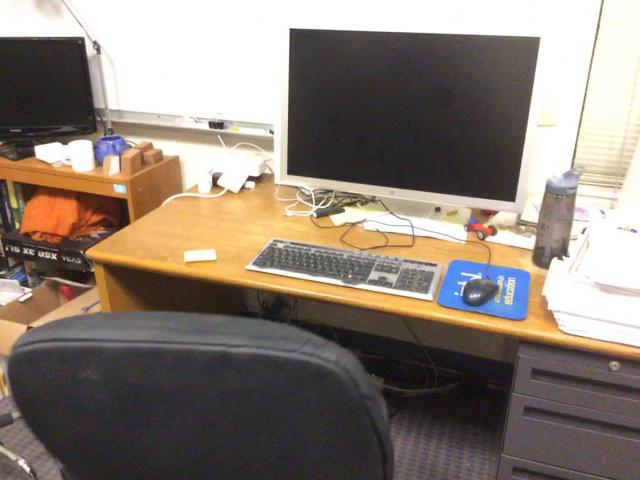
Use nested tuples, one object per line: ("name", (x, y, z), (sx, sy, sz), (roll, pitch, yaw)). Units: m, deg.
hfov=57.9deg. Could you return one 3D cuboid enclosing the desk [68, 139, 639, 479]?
("desk", (0.210, 0.260, 1.690), (1.490, 0.810, 0.760), (8, 26, 16))
